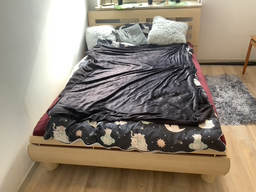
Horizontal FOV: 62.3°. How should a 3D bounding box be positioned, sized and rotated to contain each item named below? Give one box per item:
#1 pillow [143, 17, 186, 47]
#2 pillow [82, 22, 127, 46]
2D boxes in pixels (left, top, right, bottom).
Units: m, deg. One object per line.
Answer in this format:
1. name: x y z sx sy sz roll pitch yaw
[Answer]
1. pillow: 0.480 -0.870 2.870 0.520 0.260 0.490 1 33 6
2. pillow: -0.300 -0.870 2.940 0.530 0.180 0.490 1 33 5
